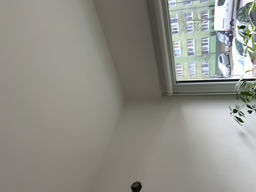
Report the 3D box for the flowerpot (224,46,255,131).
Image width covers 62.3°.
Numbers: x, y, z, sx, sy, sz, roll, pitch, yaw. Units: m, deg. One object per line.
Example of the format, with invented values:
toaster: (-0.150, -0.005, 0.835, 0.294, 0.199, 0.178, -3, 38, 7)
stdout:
flowerpot: (1.040, -0.090, 1.390, 0.680, 0.680, 0.280, -61, -35, -54)
